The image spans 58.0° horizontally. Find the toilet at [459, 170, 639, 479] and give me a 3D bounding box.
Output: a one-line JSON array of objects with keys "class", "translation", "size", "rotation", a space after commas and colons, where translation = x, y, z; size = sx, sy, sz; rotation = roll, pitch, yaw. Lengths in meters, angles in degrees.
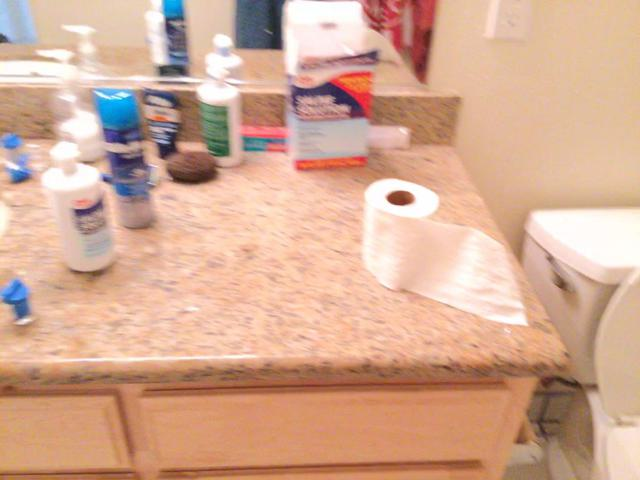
[{"class": "toilet", "translation": [0.670, 0.380, 1.120], "size": [0.500, 0.780, 0.730], "rotation": [1, 32, -3]}]
